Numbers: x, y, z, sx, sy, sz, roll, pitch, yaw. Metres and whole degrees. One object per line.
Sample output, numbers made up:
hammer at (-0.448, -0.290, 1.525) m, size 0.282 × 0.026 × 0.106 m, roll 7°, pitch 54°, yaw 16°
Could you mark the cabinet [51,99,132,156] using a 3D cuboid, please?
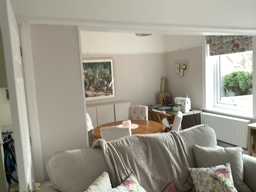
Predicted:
cabinet at (-0.740, 0.620, 4.550) m, size 1.620 × 0.910 × 0.350 m, roll -6°, pitch 8°, yaw -25°
